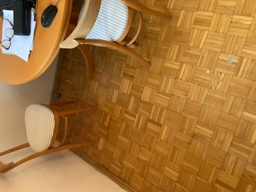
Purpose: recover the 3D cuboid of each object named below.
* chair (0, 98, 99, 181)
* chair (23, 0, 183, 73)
[{"bbox_3d":[-0.640,0.270,1.660,0.350,0.740,0.410,18,101,33],"label":"chair"},{"bbox_3d":[-0.090,-0.460,1.250,0.400,0.760,0.460,38,111,28],"label":"chair"}]
